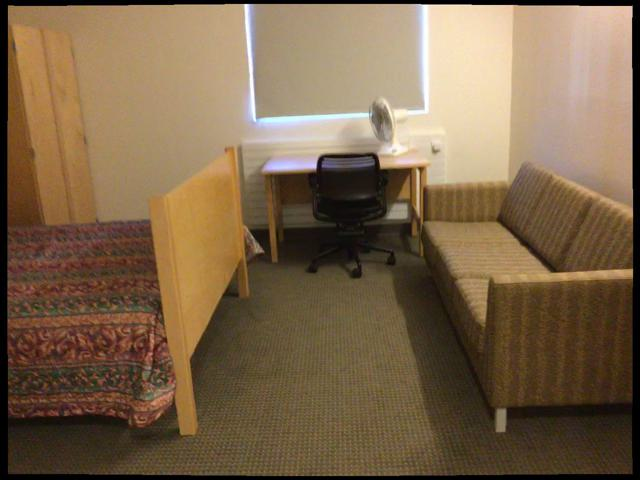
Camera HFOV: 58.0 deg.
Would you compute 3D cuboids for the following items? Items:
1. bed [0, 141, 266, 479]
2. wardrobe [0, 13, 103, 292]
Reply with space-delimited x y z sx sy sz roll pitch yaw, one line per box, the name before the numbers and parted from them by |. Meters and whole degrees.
bed | -1.587 0.200 2.980 2.336 1.022 1.900 -4 17 2
wardrobe | -2.435 -0.671 4.480 0.808 1.923 0.970 -4 17 2
